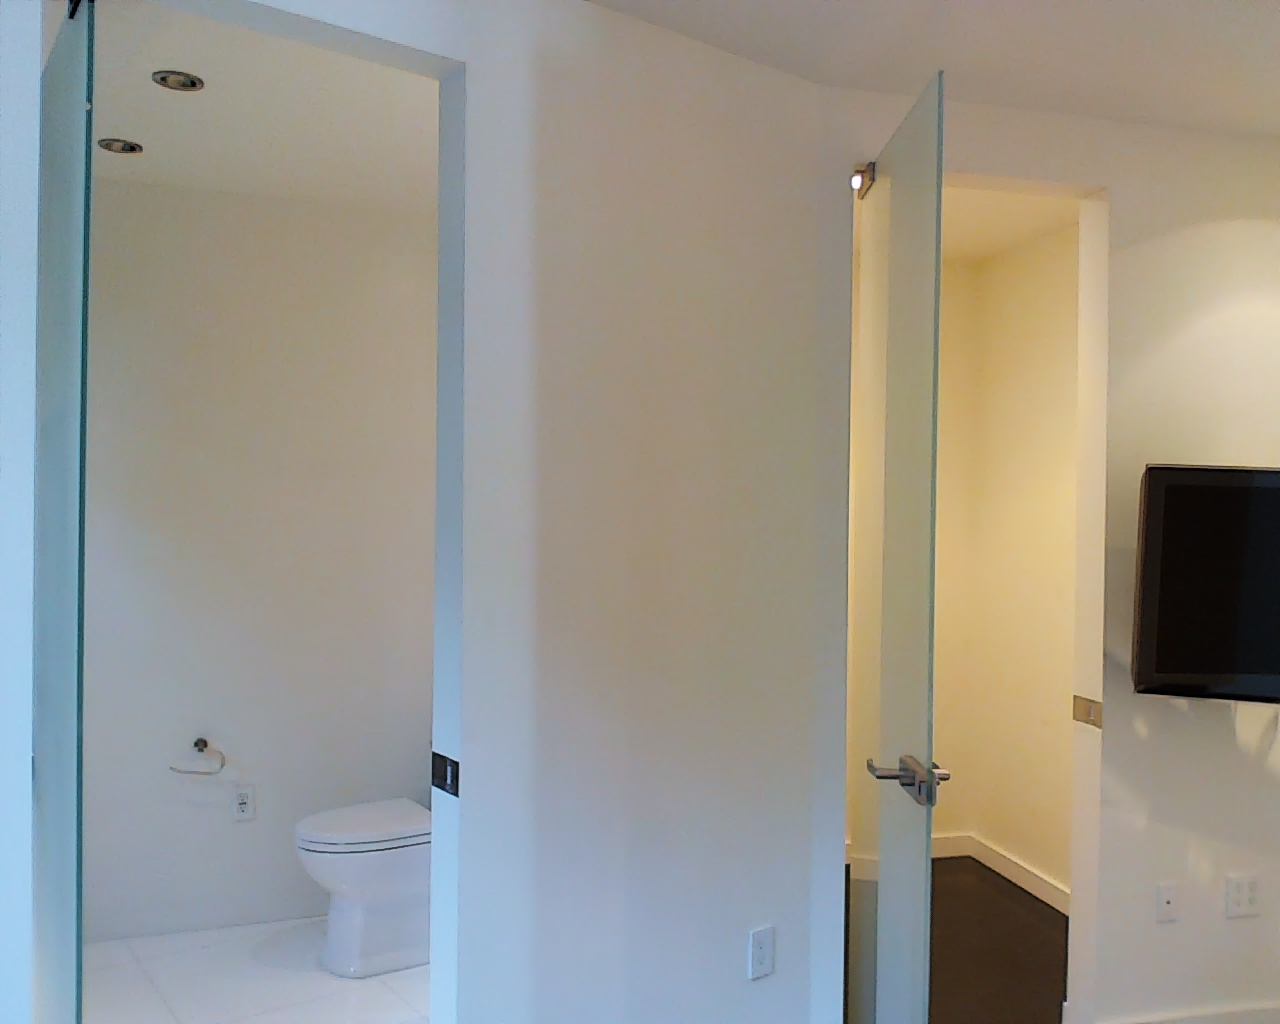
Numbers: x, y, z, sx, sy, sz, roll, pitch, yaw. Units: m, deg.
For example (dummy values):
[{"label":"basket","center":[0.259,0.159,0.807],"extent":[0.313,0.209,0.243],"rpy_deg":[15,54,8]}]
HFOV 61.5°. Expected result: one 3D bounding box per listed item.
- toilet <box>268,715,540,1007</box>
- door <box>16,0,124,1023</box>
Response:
[{"label":"toilet","center":[-0.820,1.150,3.730],"extent":[0.760,0.730,0.550],"rpy_deg":[1,0,-34]},{"label":"door","center":[-1.140,0.200,2.120],"extent":[0.080,2.640,0.800],"rpy_deg":[1,0,-34]}]
